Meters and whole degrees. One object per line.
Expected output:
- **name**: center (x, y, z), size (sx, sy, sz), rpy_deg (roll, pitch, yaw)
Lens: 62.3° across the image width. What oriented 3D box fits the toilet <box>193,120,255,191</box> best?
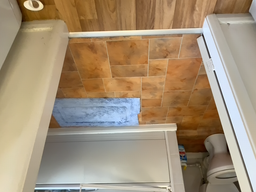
- **toilet**: center (0.980, 0.780, 2.090), size (0.390, 0.870, 0.630), rpy_deg (-3, 146, 3)
